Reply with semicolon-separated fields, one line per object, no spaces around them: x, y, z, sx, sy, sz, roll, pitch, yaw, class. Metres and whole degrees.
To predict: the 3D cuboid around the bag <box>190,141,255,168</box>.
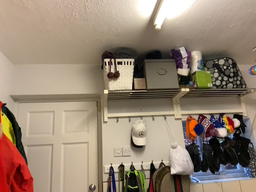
0.990;0.590;2.160;0.650;0.220;0.160;-2;-16;-7;bag

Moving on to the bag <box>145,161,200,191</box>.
0.390;0.830;1.890;0.400;0.450;0.260;-2;-16;-5;bag
